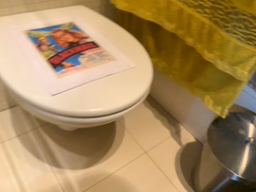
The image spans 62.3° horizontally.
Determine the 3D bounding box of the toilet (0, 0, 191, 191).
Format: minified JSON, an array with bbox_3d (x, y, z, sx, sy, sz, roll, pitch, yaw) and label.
[{"bbox_3d":[-0.180,-0.010,0.720,0.390,0.440,0.520,-22,53,-30],"label":"toilet"}]
